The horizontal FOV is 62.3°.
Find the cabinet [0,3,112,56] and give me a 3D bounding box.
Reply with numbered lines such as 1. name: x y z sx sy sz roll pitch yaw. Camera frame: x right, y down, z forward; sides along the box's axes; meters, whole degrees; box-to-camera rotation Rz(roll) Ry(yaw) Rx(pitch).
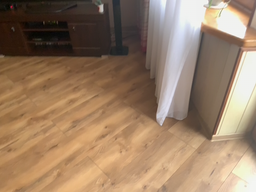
1. cabinet: -1.070 -0.920 2.930 1.620 0.560 0.450 1 39 4
